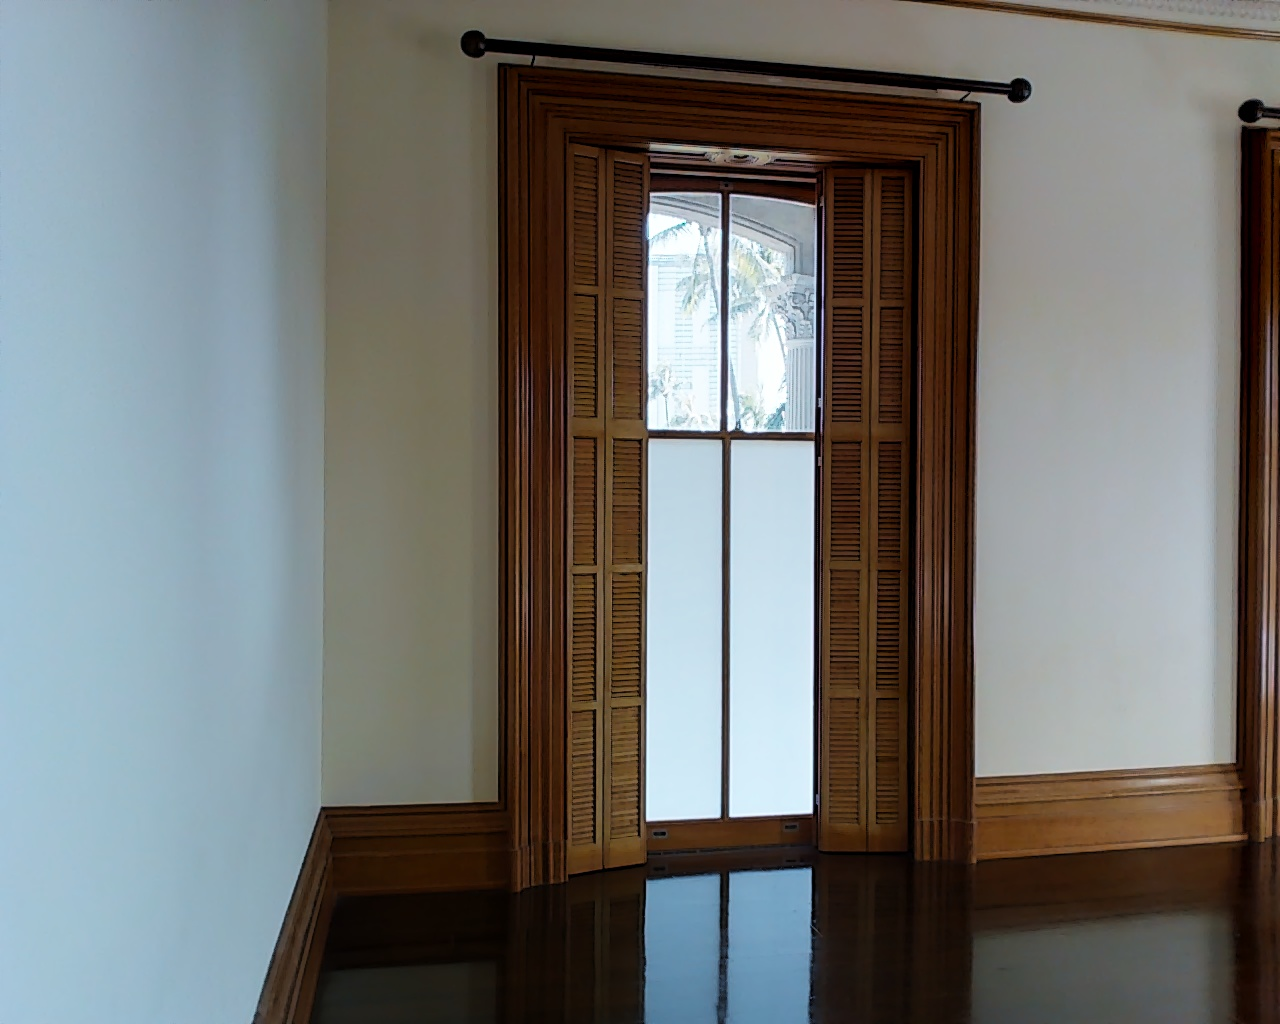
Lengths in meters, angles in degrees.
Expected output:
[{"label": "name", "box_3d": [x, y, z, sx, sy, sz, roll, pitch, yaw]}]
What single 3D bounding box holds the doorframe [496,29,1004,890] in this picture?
[{"label": "doorframe", "box_3d": [0.460, -0.200, 4.790, 2.140, 3.420, 0.620, 0, 1, -12]}]
